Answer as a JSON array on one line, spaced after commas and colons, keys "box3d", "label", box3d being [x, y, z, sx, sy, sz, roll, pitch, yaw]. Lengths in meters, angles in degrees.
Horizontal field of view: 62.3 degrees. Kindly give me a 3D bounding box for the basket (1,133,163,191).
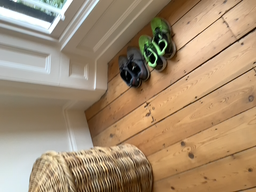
[{"box3d": [-0.250, 0.570, 1.300, 0.510, 0.760, 0.490, -35, 63, 35], "label": "basket"}]
